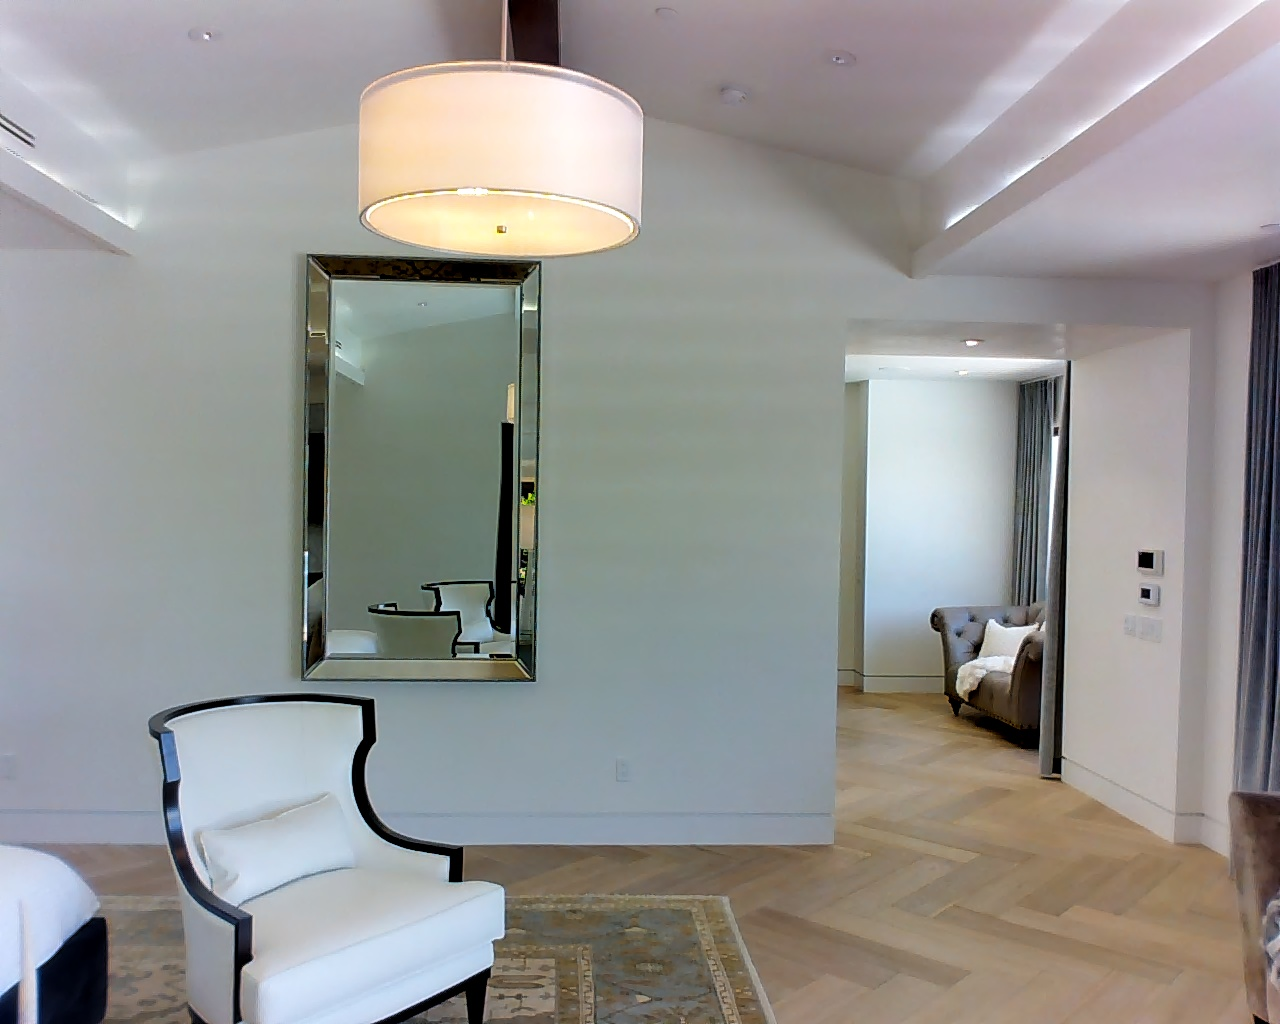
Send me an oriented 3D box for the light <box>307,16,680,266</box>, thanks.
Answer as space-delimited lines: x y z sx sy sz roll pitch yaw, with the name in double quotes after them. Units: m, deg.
-0.290 -0.770 2.360 0.600 0.300 0.600 1 1 19 "light"
